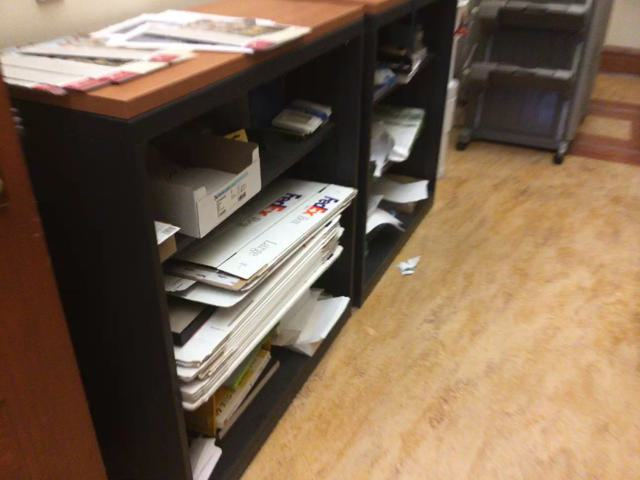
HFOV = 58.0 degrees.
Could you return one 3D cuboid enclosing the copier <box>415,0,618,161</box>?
[{"bbox_3d":[1.210,-1.320,3.320,0.880,1.260,1.420,11,29,23],"label":"copier"}]
